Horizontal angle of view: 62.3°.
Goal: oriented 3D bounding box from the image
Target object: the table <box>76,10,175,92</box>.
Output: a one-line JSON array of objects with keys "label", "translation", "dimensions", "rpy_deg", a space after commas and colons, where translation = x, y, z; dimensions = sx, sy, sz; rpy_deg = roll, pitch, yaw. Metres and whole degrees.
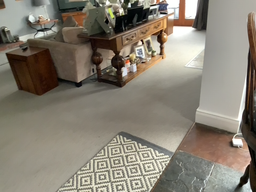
[{"label": "table", "translation": [0.110, -0.830, 3.380], "dimensions": [0.540, 0.750, 1.810], "rpy_deg": [15, 35, 33]}]

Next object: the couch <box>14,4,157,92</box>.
[{"label": "couch", "translation": [-0.510, -1.040, 3.810], "dimensions": [1.020, 0.810, 2.380], "rpy_deg": [15, 35, 33]}]

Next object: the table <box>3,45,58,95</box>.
[{"label": "table", "translation": [-1.390, -0.390, 3.060], "dimensions": [0.500, 0.560, 0.370], "rpy_deg": [12, 33, 29]}]
